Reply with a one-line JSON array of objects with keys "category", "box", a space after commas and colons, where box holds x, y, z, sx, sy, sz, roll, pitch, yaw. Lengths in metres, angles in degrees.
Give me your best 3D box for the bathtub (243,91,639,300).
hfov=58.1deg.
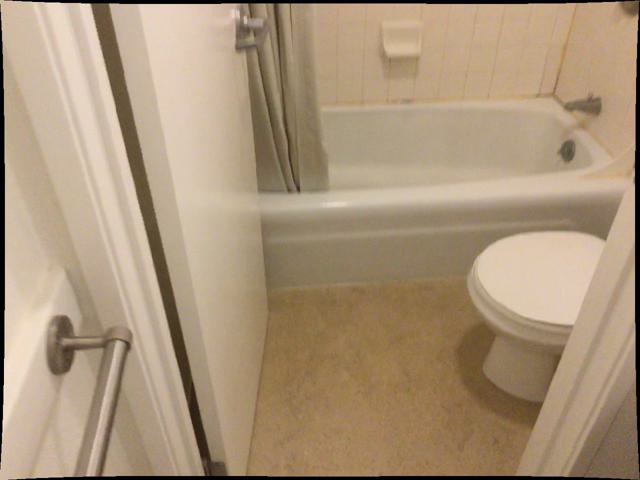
[{"category": "bathtub", "box": [0.379, -0.210, 2.240, 1.288, 0.390, 0.770, -3, 39, -3]}]
